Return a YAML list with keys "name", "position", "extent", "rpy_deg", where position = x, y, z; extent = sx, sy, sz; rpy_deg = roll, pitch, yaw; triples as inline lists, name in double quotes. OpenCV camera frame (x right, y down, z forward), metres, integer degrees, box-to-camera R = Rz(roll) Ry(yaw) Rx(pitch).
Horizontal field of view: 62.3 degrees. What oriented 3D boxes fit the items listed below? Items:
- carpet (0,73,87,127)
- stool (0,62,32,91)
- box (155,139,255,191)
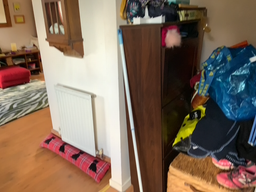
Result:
- name: "carpet"
  position: [-2.160, 0.090, 3.390]
  extent: [1.690, 0.100, 2.470]
  rpy_deg: [16, 27, 35]
- name: "stool"
  position: [-2.420, -0.420, 4.250]
  extent: [0.650, 0.330, 0.640]
  rpy_deg: [16, 27, 34]
- name: "box"
  position: [0.480, 0.640, 1.350]
  extent: [0.550, 0.510, 0.270]
  rpy_deg: [15, 26, 33]
